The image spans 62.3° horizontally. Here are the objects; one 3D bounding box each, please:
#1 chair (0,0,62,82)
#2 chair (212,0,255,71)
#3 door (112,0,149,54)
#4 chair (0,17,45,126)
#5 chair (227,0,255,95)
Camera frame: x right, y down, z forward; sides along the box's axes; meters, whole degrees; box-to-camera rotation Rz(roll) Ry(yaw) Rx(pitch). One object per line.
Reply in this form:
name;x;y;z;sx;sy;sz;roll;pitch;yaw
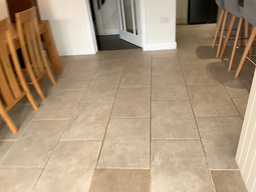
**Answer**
chair;-1.410;-0.790;2.980;0.500;0.990;0.610;-2;32;8
chair;1.400;-0.820;2.590;0.530;0.890;0.450;-1;32;8
door;-0.020;-1.820;3.620;0.110;2.020;1.020;-22;35;-23
chair;-1.270;-0.220;2.080;0.450;0.930;0.470;-2;32;7
chair;1.360;-0.520;2.090;0.490;0.900;0.450;-1;32;8
